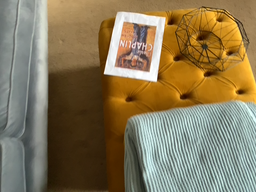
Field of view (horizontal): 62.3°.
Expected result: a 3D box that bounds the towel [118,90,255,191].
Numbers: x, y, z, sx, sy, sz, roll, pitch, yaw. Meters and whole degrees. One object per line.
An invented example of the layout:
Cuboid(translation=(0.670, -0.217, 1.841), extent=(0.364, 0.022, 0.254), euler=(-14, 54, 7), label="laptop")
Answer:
Cuboid(translation=(0.230, 0.240, 0.680), extent=(0.470, 0.250, 0.420), euler=(-7, 72, -3), label="towel")
